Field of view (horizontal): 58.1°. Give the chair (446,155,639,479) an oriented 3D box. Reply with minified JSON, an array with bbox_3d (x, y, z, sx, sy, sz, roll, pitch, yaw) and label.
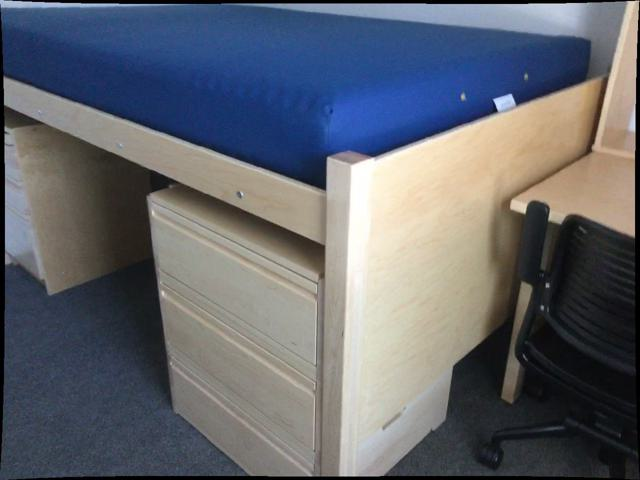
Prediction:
[{"bbox_3d":[0.799,0.321,1.460,0.620,0.821,0.610,25,36,38],"label":"chair"}]

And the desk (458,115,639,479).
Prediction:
[{"bbox_3d":[1.188,0.280,1.540,1.269,0.851,0.829,24,35,39],"label":"desk"}]

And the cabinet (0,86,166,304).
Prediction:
[{"bbox_3d":[-1.148,-0.240,2.600,0.510,0.731,0.610,22,34,37],"label":"cabinet"}]
